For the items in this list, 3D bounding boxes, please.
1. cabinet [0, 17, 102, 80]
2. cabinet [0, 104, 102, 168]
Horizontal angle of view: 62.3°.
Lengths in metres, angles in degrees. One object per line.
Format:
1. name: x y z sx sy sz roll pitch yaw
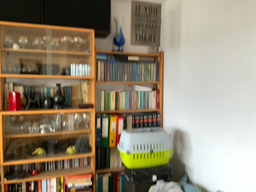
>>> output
1. cabinet: -1.480 -0.400 1.760 2.480 0.480 0.390 0 3 -20
2. cabinet: -1.110 0.340 1.920 1.690 0.480 0.390 0 3 -20
